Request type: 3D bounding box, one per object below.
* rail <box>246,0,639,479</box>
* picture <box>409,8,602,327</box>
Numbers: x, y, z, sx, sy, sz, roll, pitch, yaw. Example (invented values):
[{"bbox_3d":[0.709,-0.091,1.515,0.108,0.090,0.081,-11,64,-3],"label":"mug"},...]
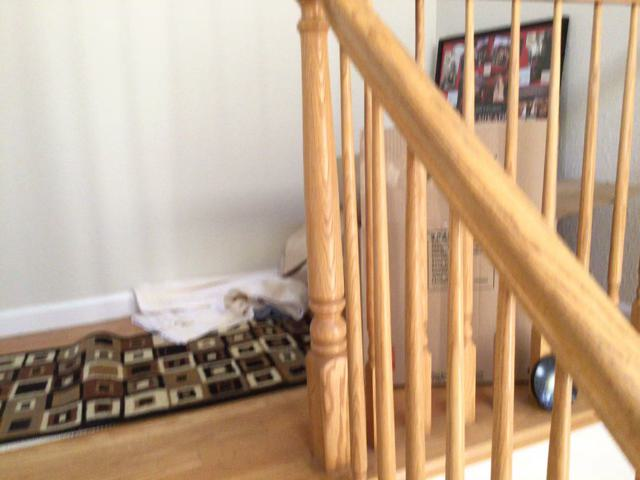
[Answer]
[{"bbox_3d":[0.450,-0.060,1.140,1.090,0.960,0.400,-6,17,-17],"label":"rail"},{"bbox_3d":[0.590,-0.280,2.060,0.150,0.950,0.730,-8,18,-22],"label":"picture"}]
